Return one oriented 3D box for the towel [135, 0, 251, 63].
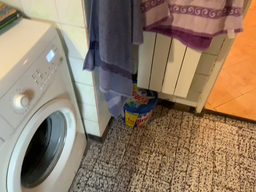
[{"bbox_3d":[0.270,-0.440,0.890,0.410,0.500,0.210,13,49,9],"label":"towel"}]
